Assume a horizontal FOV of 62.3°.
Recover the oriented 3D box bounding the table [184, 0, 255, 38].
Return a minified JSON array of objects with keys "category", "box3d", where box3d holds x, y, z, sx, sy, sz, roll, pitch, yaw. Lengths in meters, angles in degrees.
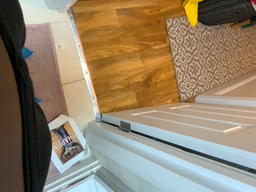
[{"category":"table","box3d":[0.880,-0.730,1.630,0.720,0.500,0.380,-17,101,-30]}]
